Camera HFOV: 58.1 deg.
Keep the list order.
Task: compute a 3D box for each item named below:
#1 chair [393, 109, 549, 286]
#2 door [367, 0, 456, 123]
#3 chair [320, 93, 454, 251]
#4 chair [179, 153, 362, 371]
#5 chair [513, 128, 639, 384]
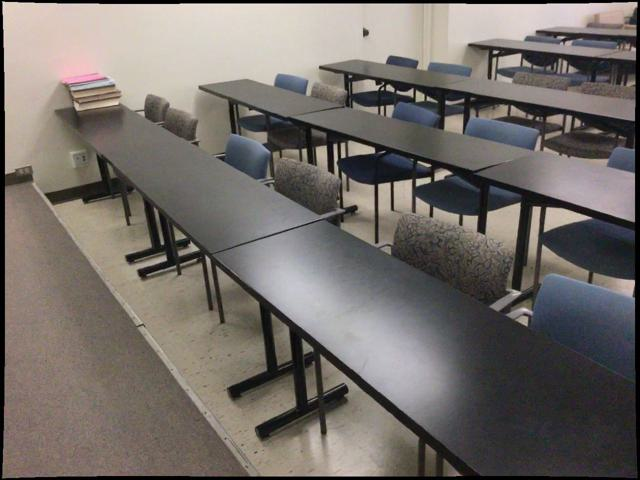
[{"bbox_3d":[0.808,-0.261,3.170,0.579,0.711,0.540,-21,31,-27],"label":"chair"},{"bbox_3d":[0.918,-2.125,5.660,0.959,1.733,0.190,-21,31,-27],"label":"door"},{"bbox_3d":[0.419,-0.451,3.610,0.579,0.731,0.580,-17,30,-21],"label":"chair"},{"bbox_3d":[-0.219,0.070,2.690,0.559,0.711,0.570,-21,31,-27],"label":"chair"},{"bbox_3d":[1.277,0.030,2.460,0.589,0.792,0.570,-21,31,-27],"label":"chair"}]
